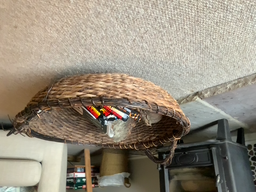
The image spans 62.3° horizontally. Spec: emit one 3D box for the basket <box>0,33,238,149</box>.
[{"bbox_3d":[-0.090,0.060,0.890,0.740,0.190,0.620,5,156,-10],"label":"basket"}]

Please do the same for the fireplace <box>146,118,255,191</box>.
[{"bbox_3d":[0.480,0.520,1.390,0.480,0.560,0.520,-20,149,39],"label":"fireplace"}]

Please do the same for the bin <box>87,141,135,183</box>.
[{"bbox_3d":[-0.170,0.690,2.170,0.350,0.360,0.320,-20,149,38],"label":"bin"}]
